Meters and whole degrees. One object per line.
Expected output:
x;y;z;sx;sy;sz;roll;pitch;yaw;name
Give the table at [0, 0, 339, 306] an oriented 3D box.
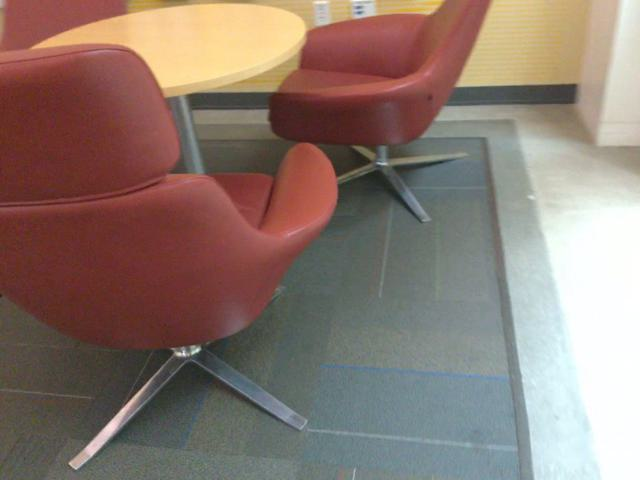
-0.460;-0.360;2.030;0.900;0.700;0.900;3;35;10;table
